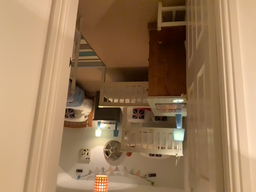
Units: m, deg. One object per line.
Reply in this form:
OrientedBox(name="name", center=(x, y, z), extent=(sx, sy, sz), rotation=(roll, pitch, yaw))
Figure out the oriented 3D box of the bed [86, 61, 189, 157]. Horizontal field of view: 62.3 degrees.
OrientedBox(name="bed", center=(0.370, 0.420, 4.440), extent=(1.570, 1.490, 2.230), rotation=(0, 166, 12))
